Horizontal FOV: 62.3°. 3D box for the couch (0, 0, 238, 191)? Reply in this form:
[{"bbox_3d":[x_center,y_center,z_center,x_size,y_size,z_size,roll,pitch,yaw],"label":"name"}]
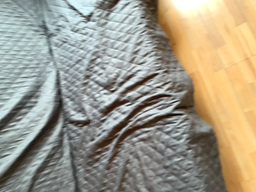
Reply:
[{"bbox_3d":[-0.410,-0.170,1.280,1.170,0.920,2.040,-27,72,30],"label":"couch"}]
